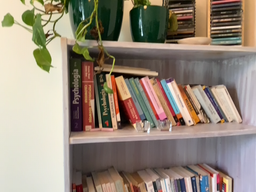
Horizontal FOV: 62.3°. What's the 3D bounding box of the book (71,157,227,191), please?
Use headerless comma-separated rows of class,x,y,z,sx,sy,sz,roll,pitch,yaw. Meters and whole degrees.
book,0.100,0.520,1.070,0.740,0.290,0.230,-1,4,-14

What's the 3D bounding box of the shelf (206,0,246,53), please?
shelf,0.450,-0.500,0.980,0.150,0.570,0.150,1,4,18

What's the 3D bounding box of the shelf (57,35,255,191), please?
shelf,0.150,0.670,1.010,0.860,1.780,0.340,-1,4,-11
